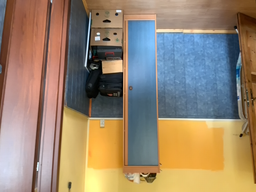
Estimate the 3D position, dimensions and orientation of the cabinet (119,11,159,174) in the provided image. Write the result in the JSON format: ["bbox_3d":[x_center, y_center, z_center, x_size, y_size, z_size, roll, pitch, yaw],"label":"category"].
[{"bbox_3d":[0.130,-0.070,2.750,0.440,1.990,0.440,0,170,0],"label":"cabinet"}]
